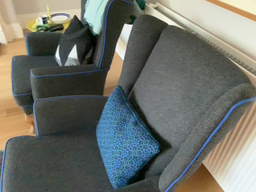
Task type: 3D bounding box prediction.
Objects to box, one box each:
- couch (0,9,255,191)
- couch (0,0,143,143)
[{"bbox_3d":[-0.110,0.230,1.030,0.970,0.960,0.730,-13,42,-17],"label":"couch"},{"bbox_3d":[-0.470,-0.320,1.700,0.890,0.940,0.740,-13,42,-17],"label":"couch"}]
